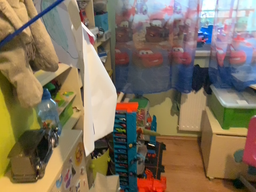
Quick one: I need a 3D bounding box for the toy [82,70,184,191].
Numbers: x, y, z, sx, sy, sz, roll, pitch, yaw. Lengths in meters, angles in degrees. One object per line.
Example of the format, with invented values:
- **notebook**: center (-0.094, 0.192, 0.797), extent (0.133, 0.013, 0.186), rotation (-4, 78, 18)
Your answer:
- **toy**: center (0.100, 0.250, 1.620), extent (0.520, 0.640, 0.920), rotation (3, 24, 9)
